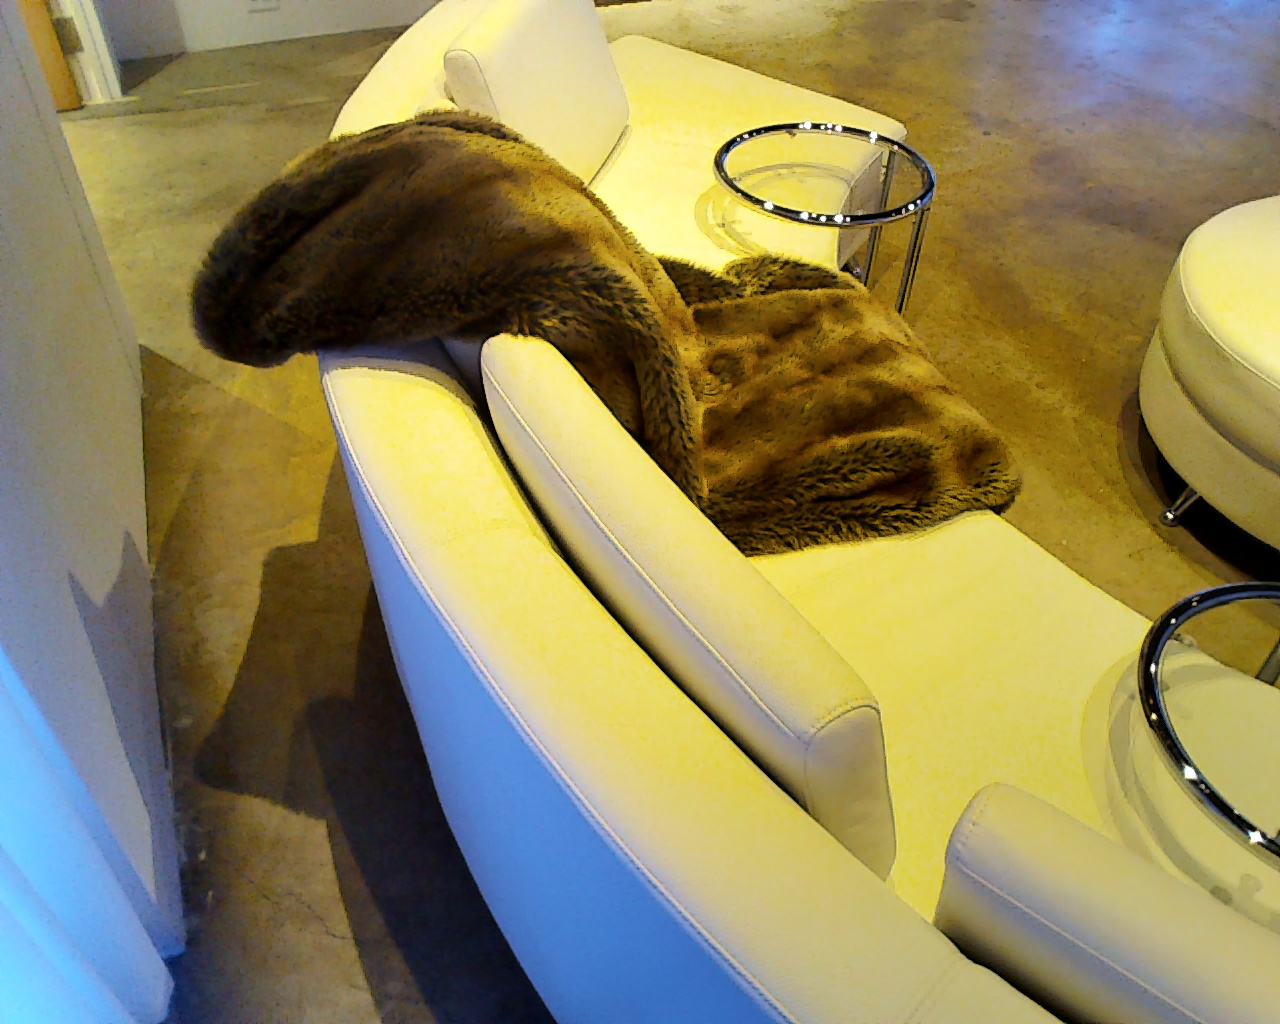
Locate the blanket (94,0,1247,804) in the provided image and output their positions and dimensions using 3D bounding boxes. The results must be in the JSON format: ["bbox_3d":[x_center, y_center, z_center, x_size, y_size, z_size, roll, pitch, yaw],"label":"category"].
[{"bbox_3d":[0.000,-0.230,1.680,1.230,0.890,0.750,-9,43,-10],"label":"blanket"}]
